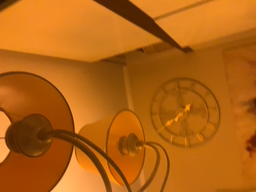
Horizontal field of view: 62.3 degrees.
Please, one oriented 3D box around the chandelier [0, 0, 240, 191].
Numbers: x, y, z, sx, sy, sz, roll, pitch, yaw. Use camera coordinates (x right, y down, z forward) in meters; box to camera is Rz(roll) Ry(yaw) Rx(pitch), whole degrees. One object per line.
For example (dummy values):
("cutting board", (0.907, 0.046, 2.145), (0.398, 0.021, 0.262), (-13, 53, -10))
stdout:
("chandelier", (-0.170, 0.300, 0.710), (0.830, 0.840, 0.630), (-14, -14, 40))
